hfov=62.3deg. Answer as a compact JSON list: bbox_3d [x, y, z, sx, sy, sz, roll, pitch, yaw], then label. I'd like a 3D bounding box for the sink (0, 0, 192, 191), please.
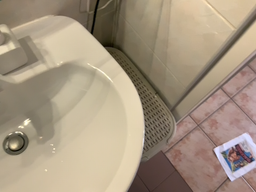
[{"bbox_3d":[-0.280,0.110,0.510,0.660,0.300,0.440,-33,75,-21],"label":"sink"}]
